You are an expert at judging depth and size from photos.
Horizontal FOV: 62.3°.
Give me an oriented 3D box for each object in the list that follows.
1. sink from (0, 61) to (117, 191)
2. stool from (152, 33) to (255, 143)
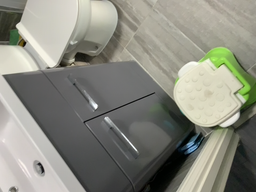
[{"bbox_3d":[-0.330,0.260,0.710,0.620,0.110,0.440,48,121,14],"label":"sink"},{"bbox_3d":[0.380,-0.040,1.010,0.340,0.210,0.350,-43,78,32],"label":"stool"}]
